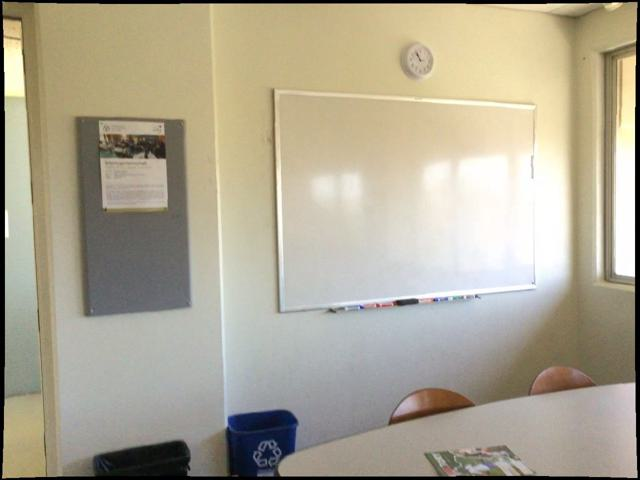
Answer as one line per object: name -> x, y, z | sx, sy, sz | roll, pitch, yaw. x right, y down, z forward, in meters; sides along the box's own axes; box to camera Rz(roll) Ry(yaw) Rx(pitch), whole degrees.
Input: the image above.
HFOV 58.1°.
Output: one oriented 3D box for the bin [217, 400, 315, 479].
bin -> -0.289, 1.133, 3.070 | 0.449, 0.411, 0.280 | -4, 5, -19
